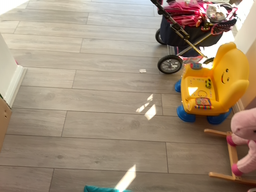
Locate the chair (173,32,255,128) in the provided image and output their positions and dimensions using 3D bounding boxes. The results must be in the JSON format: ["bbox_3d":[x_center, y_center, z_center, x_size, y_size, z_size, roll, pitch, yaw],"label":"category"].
[{"bbox_3d":[0.530,-0.100,1.400,0.350,0.400,0.450,6,54,-1],"label":"chair"}]
